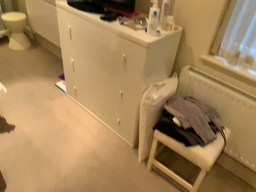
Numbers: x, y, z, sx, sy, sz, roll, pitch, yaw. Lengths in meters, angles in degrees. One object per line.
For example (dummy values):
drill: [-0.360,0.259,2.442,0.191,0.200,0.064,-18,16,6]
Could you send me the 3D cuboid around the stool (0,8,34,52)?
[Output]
stool: [-1.540,-0.900,2.880,0.300,0.450,0.300,29,43,25]
